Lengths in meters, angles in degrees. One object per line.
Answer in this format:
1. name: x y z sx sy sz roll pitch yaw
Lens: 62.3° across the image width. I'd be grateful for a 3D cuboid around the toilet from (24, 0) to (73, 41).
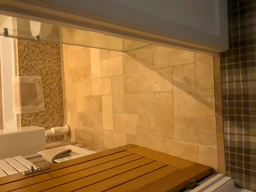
1. toilet: -1.050 -1.060 2.800 0.370 0.470 0.540 -2 92 47
